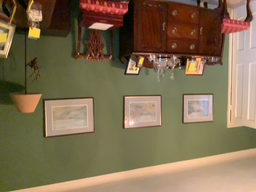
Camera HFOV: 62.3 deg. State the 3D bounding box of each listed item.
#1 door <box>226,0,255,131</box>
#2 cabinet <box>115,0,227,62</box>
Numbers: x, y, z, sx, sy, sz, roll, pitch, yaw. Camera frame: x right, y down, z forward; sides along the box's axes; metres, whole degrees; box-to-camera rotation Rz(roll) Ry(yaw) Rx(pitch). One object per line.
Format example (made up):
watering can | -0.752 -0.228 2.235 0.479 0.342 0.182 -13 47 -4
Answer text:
door | 1.920 -0.520 3.290 0.060 2.090 0.900 -1 -175 -17
cabinet | 0.550 -0.960 2.800 1.330 0.940 0.600 -2 -175 -21
